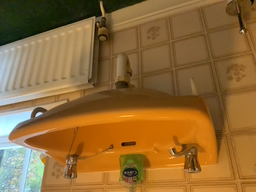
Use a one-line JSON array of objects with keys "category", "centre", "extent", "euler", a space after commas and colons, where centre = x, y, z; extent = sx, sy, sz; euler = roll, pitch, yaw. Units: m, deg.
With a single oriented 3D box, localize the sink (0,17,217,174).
[{"category": "sink", "centre": [-0.080, 0.080, 0.670], "extent": [0.620, 0.250, 0.410], "euler": [-11, 153, 19]}]
